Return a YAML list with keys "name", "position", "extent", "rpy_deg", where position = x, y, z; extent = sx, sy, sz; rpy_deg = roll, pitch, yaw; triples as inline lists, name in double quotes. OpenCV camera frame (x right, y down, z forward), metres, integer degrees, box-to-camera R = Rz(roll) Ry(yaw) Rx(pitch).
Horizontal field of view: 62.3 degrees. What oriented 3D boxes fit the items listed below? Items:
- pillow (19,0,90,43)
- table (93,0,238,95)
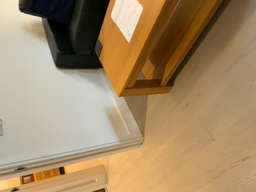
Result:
- name: "pillow"
  position: [-0.740, -0.930, 2.120]
  extent: [0.290, 0.490, 0.560]
  rpy_deg: [62, 177, 36]
- name: "table"
  position: [0.210, -0.560, 1.300]
  extent: [0.550, 0.450, 1.010]
  rpy_deg: [63, 142, 32]
